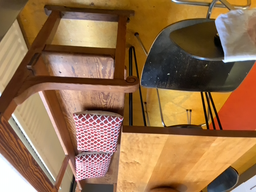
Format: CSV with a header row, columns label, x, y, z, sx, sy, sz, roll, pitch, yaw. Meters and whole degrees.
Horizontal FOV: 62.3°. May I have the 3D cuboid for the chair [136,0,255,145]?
label,x,y,z,sx,sy,sz,roll,pitch,yaw
chair,0.320,-0.220,0.970,0.490,0.710,0.500,3,141,-4
